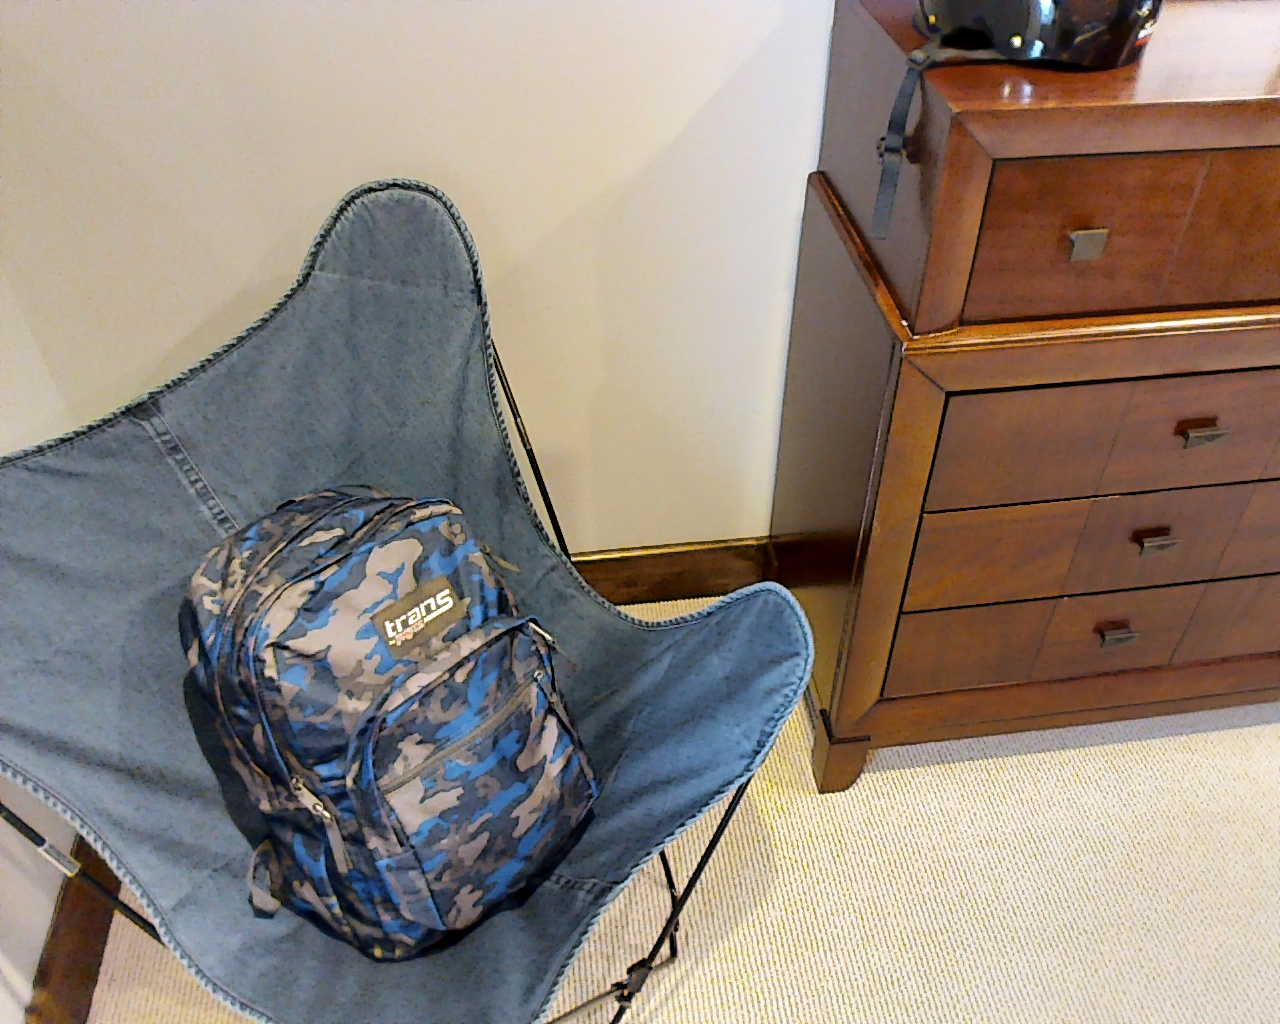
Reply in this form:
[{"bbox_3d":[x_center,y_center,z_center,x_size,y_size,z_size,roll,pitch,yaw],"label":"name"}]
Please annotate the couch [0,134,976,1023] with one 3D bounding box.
[{"bbox_3d":[-0.250,0.210,1.220,0.770,0.810,0.910,26,49,26],"label":"couch"}]
